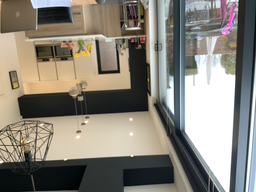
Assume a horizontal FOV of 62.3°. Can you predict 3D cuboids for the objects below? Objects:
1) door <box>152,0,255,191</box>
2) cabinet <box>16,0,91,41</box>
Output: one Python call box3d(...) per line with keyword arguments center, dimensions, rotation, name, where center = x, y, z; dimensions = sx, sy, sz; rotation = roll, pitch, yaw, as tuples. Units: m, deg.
box3d(center=(0.520, -0.420, 2.030), dimensions=(0.090, 2.600, 4.940), rotation=(-3, -167, 2), name="door")
box3d(center=(-1.380, -1.580, 4.060), dimensions=(1.130, 0.930, 0.630), rotation=(-3, -167, 2), name="cabinet")
